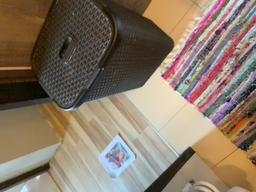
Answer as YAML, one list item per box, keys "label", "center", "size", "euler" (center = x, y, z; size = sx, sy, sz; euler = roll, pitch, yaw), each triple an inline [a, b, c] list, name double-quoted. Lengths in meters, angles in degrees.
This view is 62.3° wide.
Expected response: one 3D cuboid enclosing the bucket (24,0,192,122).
- label: "bucket"
  center: [-0.060, -0.220, 1.060]
  size: [0.330, 0.630, 0.490]
  euler: [50, 120, 16]
